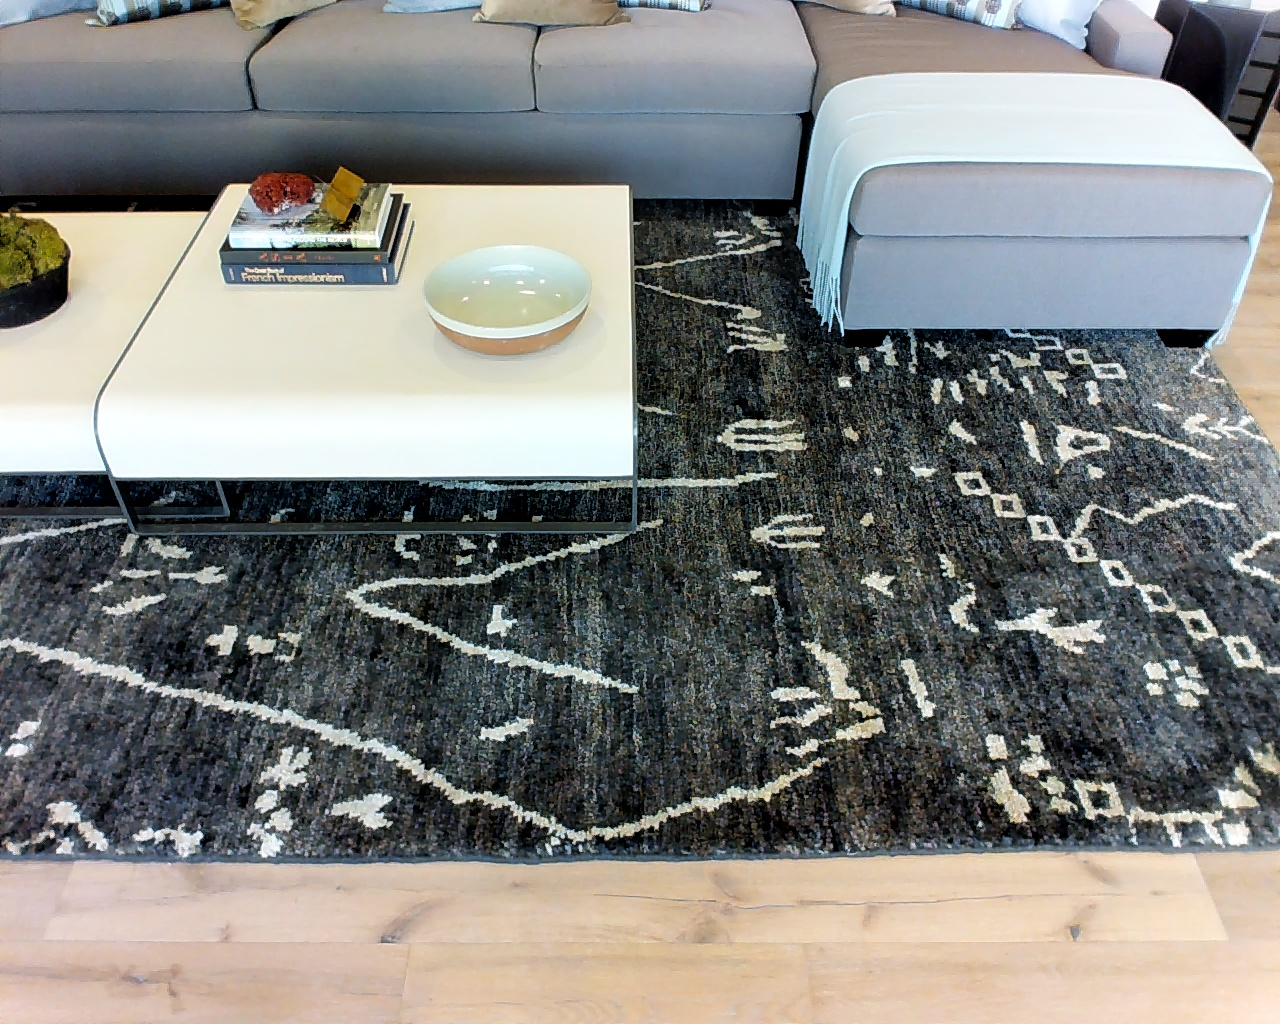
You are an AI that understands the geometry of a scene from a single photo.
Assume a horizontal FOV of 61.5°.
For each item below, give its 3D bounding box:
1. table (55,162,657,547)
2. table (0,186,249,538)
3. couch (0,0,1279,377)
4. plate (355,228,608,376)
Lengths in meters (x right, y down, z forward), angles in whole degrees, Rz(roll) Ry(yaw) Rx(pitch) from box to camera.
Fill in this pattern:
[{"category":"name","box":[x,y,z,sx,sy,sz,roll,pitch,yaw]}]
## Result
[{"category":"table","box":[-0.550,-0.430,2.580,1.140,0.350,1.120,0,42,-1]},{"category":"table","box":[-1.500,-0.410,2.590,0.780,0.300,1.060,0,42,-2]},{"category":"couch","box":[-0.290,-1.230,3.290,3.820,0.620,1.890,0,42,-1]},{"category":"plate","box":[-0.320,-0.460,2.310,0.470,0.100,0.410,3,42,2]}]
